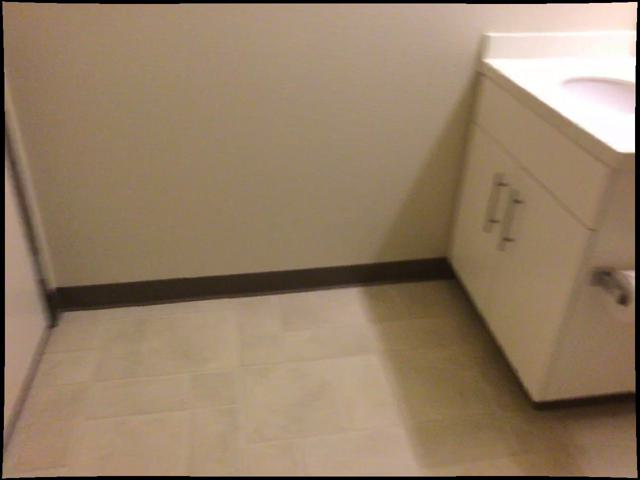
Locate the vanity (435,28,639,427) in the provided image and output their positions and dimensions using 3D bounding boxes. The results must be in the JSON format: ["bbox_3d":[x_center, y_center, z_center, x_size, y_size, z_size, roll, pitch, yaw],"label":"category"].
[{"bbox_3d":[0.828,-0.090,1.790,0.579,0.922,0.810,-4,31,-9],"label":"vanity"}]
